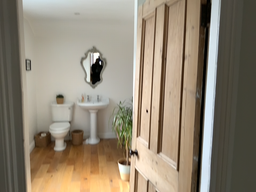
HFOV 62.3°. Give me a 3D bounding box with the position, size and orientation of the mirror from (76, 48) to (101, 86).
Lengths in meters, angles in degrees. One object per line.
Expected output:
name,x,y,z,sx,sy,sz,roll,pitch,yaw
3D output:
mirror,-0.820,-0.590,4.430,0.500,0.760,0.190,-1,7,-11
